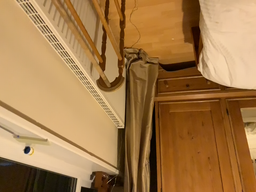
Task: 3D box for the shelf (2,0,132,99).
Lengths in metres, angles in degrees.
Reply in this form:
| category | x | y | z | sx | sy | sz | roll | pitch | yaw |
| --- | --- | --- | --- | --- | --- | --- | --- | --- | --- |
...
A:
| category | x | y | z | sx | sy | sz | roll | pitch | yaw |
| --- | --- | --- | --- | --- | --- | --- | --- | --- | --- |
| shelf | -0.170 | -0.460 | 0.990 | 0.190 | 0.700 | 0.710 | -6 | 153 | 15 |
